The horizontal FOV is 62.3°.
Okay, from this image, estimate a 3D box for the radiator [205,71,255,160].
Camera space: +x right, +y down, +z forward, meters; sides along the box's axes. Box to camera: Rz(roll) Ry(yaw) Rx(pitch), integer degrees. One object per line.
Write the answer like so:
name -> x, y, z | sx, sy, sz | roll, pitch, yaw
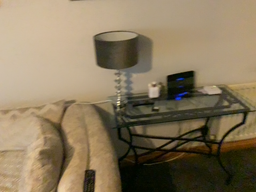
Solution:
radiator -> 1.270, 0.180, 2.020 | 0.920, 0.850, 0.160 | -5, 28, -6
